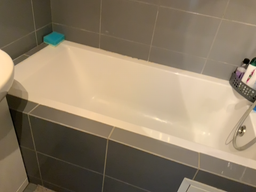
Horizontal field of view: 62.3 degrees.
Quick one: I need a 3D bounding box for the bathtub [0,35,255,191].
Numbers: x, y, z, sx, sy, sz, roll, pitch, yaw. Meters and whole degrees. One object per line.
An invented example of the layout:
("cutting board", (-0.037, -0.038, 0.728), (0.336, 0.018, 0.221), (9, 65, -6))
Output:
("bathtub", (-0.010, 0.190, 1.310), (1.400, 0.590, 0.790), (16, 37, 9))
